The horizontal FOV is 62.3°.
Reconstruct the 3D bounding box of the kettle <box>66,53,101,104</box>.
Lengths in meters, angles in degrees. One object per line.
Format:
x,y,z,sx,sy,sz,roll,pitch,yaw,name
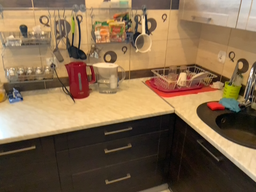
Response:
-0.340,-0.140,1.630,0.220,0.320,0.190,-7,27,-18,kettle
